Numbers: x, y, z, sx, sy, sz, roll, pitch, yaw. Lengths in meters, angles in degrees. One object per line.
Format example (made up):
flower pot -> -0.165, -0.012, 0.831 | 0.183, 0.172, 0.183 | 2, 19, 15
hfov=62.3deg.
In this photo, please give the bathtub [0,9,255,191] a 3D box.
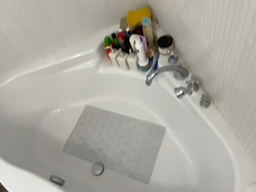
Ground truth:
bathtub -> -0.170, 0.300, 1.370 | 1.320, 0.550, 1.370 | -22, 56, 1
